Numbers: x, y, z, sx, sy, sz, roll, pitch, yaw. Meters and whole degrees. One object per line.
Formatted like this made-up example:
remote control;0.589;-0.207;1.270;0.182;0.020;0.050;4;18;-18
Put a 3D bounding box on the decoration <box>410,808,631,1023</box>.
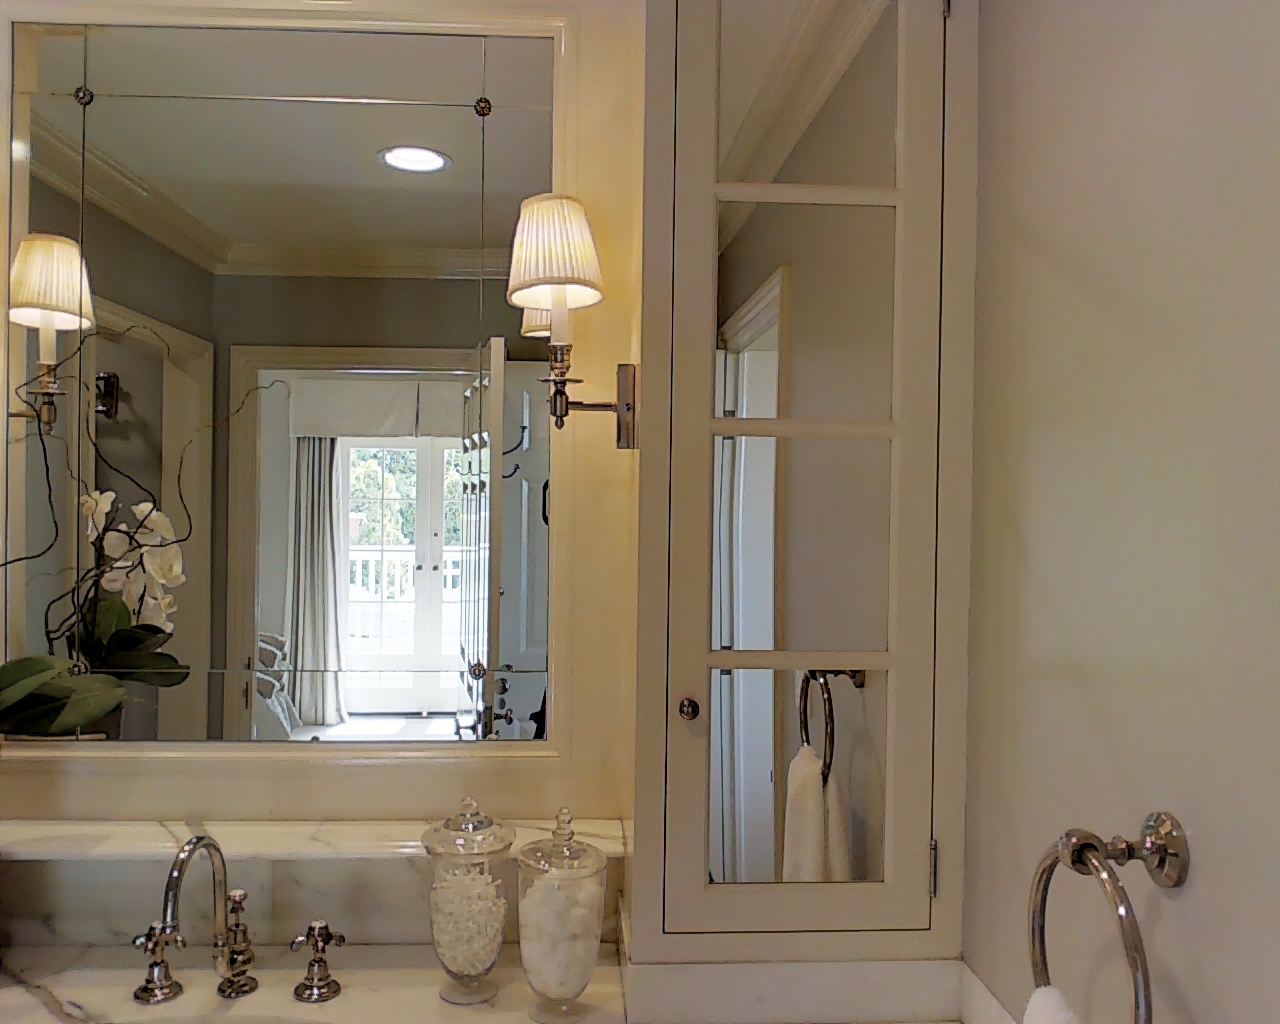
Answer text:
decoration;-0.150;0.520;1.420;0.260;0.180;0.280;0;0;-3
